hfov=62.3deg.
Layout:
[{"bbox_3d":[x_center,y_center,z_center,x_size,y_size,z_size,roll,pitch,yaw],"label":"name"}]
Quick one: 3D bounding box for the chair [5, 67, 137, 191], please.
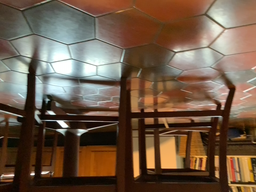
[{"bbox_3d":[-0.220,0.380,0.920,0.420,0.860,0.480,3,165,-11],"label":"chair"}]
